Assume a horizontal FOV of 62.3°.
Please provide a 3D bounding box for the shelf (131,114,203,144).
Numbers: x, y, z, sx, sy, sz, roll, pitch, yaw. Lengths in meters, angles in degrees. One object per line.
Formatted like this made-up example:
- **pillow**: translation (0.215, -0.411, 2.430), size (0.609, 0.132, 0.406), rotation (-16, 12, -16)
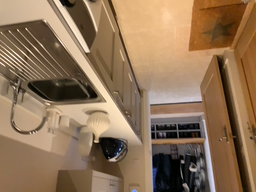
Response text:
- **shelf**: translation (0.850, 0.760, 4.750), size (1.470, 0.510, 0.550), rotation (-4, 156, 10)
